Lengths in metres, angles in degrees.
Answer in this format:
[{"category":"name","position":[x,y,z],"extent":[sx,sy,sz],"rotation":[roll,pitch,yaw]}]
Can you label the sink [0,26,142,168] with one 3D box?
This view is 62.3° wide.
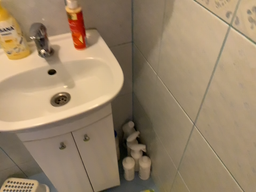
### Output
[{"category":"sink","position":[-0.220,-0.030,0.670],"extent":[0.420,0.150,0.340],"rotation":[-17,50,-14]}]
